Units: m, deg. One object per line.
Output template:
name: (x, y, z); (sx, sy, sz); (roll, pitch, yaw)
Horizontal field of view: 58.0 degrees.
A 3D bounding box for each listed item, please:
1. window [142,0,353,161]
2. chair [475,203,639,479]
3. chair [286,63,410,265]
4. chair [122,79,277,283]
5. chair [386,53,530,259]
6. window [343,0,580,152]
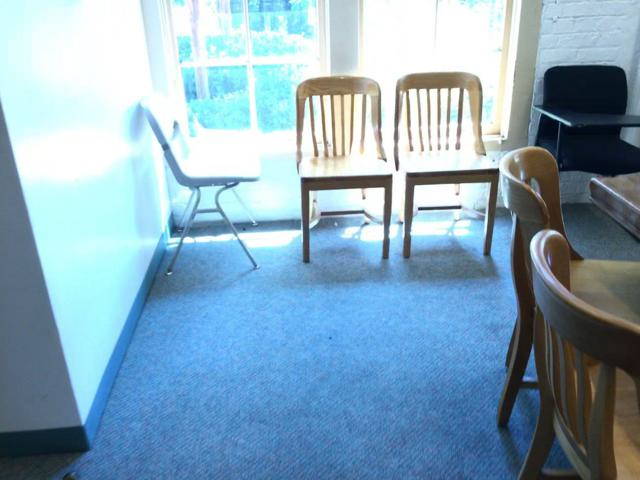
window: (-0.360, -1.030, 3.070); (0.980, 1.070, 0.330); (-5, 23, 1)
chair: (0.700, 0.400, 1.240); (0.580, 0.820, 0.520); (-5, 23, 1)
chair: (0.140, -0.410, 2.980); (0.520, 0.850, 0.620); (-5, 23, 1)
chair: (-0.550, -0.320, 2.920); (0.540, 0.830, 0.620); (-5, 23, 1)
chair: (0.660, -0.440, 2.920); (0.540, 0.860, 0.590); (-5, 23, 1)
window: (0.710, -1.110, 3.000); (1.140, 1.150, 0.290); (-5, 23, 1)
